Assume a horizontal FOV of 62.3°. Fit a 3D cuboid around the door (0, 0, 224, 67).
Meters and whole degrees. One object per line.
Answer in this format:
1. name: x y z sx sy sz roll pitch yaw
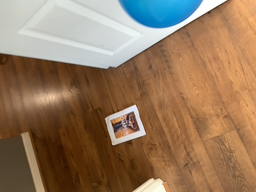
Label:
1. door: -0.320 -0.340 0.440 0.820 1.920 0.020 -25 78 31
